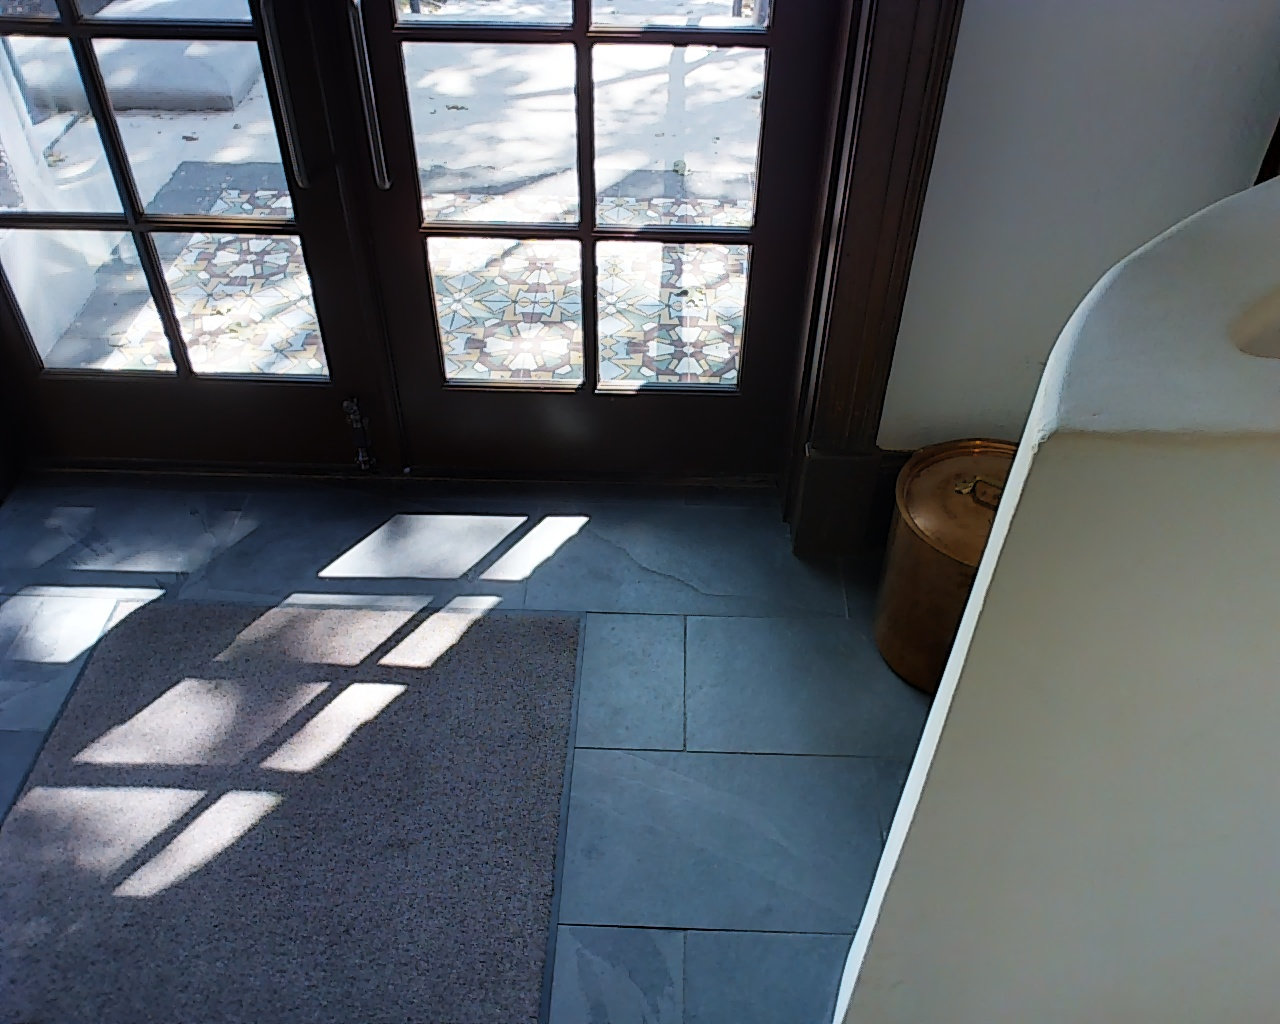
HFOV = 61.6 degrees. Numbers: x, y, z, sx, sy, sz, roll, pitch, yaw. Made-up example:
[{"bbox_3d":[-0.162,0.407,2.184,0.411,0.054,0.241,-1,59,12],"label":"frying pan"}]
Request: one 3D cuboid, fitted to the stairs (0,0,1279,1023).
[{"bbox_3d":[-0.650,-0.760,0.340,3.430,3.630,2.150,1,42,1],"label":"stairs"}]
